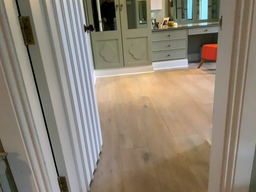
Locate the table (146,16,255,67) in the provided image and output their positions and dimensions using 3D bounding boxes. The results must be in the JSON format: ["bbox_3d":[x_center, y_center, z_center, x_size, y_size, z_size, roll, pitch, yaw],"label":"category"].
[{"bbox_3d":[1.440,-1.100,4.200,2.080,0.740,0.540,-6,21,-4],"label":"table"}]
